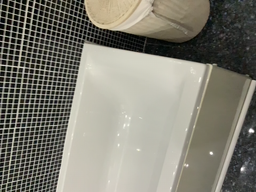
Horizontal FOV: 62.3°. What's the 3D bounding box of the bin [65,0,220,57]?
[{"bbox_3d":[0.100,-0.480,1.100,0.470,0.620,0.390,20,102,42],"label":"bin"}]
